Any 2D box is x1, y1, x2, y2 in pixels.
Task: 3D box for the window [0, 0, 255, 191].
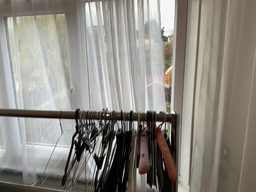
[{"bbox_3d":[-0.630,-0.380,0.810,2.470,1.790,0.820,2,13,11],"label":"window"}]
